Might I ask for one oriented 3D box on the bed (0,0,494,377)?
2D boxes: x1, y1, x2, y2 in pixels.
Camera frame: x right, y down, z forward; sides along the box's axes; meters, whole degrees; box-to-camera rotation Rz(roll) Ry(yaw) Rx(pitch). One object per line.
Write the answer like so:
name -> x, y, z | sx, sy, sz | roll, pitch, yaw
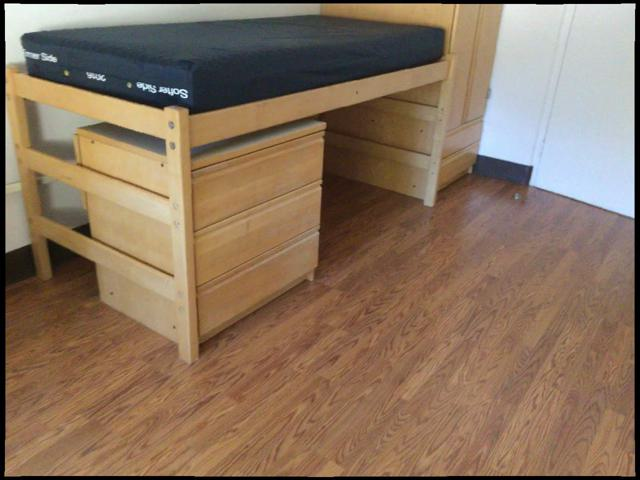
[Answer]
bed -> -0.220, -0.541, 2.940 | 1.129, 1.072, 2.269 | 23, 33, 33
